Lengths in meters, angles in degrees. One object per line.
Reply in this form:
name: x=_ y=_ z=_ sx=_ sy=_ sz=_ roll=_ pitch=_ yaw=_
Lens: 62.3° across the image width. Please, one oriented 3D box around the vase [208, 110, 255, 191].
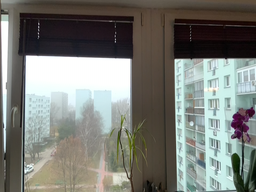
vase: x=0.760 y=0.430 z=1.500 sx=0.220 sy=0.650 sz=0.380 roll=0 pitch=-3 yaw=-4
